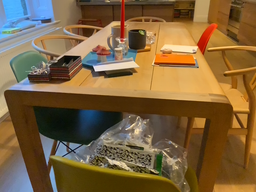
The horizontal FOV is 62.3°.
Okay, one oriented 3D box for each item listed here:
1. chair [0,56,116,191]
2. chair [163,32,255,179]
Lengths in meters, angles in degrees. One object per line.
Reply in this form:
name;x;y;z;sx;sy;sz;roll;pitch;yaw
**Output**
chair;-0.340;0.190;1.260;0.440;0.730;0.400;6;28;11
chair;0.610;0.020;1.530;0.500;0.800;0.580;12;30;21
